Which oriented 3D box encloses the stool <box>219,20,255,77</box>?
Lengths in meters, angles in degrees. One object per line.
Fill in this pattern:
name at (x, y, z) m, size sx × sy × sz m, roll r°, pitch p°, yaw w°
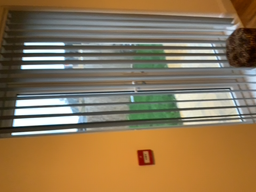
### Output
stool at (1.020, -0.370, 1.700) m, size 0.310 × 0.360 × 0.310 m, roll 107°, pitch 159°, yaw -61°
